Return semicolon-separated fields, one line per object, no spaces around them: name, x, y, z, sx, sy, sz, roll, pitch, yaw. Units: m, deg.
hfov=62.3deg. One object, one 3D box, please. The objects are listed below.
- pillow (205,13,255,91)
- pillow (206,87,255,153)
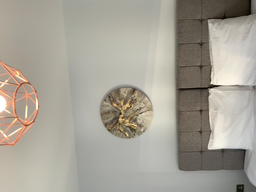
pillow;1.000;-0.410;2.030;0.120;0.460;0.680;-21;-67;-61
pillow;1.040;0.240;2.180;0.140;0.410;0.640;-34;-57;-68
